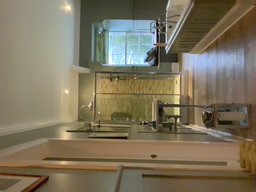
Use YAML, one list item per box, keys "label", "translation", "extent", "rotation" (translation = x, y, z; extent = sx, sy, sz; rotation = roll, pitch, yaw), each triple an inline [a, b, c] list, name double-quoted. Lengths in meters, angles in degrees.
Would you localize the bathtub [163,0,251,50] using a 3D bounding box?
- label: "bathtub"
  translation: [0.950, -1.350, 3.080]
  extent: [1.890, 0.610, 0.900]
  rotation: [52, -142, -87]
